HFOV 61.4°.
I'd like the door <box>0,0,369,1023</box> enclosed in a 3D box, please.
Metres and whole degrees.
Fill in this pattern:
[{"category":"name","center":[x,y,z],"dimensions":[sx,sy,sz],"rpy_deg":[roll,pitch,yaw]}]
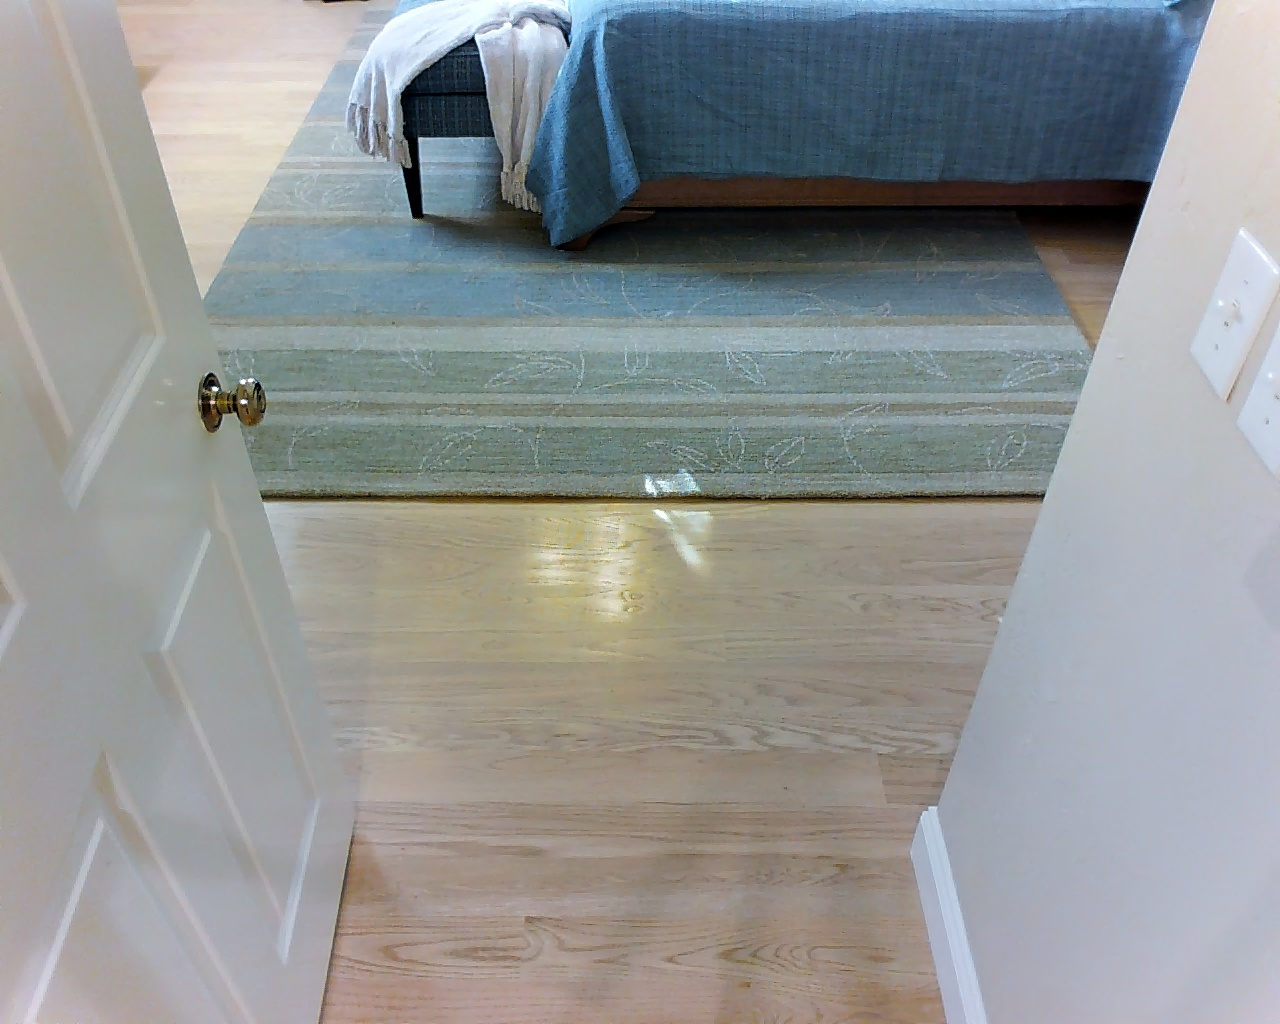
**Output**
[{"category":"door","center":[-0.440,0.070,0.800],"dimensions":[0.030,2.050,0.680],"rpy_deg":[-1,42,-1]}]
